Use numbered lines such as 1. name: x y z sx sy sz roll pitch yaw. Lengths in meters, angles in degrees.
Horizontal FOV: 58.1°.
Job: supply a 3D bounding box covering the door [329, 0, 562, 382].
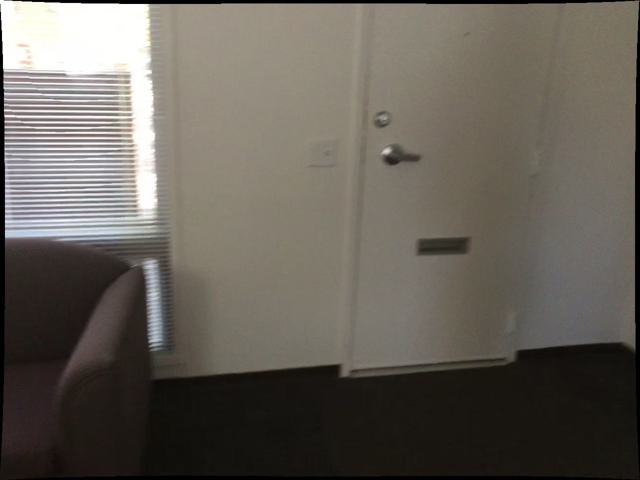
1. door: 0.509 -0.351 2.450 0.879 2.063 0.080 -2 19 -11
